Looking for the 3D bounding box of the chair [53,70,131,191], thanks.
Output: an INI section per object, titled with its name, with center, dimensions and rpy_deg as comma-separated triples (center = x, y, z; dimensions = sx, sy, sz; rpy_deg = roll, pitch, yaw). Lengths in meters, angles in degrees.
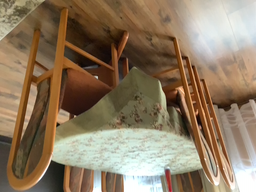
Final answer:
[chair]
center = -0.320, 0.360, 1.910
dimensions = 0.490, 1.030, 0.370
rpy_deg = -23, 146, 29
